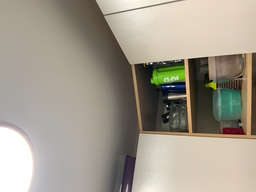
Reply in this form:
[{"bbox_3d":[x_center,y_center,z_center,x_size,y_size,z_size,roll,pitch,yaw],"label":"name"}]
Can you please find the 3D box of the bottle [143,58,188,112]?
[{"bbox_3d":[0.270,-0.090,1.410,0.410,0.210,0.290,-29,-64,-67],"label":"bottle"}]
